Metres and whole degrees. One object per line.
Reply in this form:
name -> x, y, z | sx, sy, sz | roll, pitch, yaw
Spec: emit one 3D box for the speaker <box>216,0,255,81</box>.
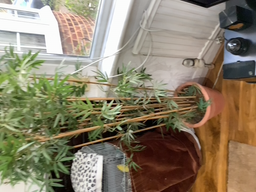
speaker -> 0.690, -0.320, 1.110 | 0.230, 0.390, 0.470 | 5, 96, 59
